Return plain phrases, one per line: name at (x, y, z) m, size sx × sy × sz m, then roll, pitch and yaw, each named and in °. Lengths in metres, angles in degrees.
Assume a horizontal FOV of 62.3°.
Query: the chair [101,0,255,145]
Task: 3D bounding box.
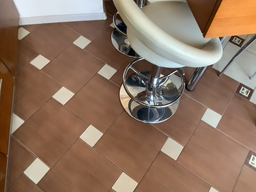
chair at (0.160, -0.180, 1.100) m, size 0.480 × 0.830 × 0.530 m, roll -12°, pitch 62°, yaw -10°
